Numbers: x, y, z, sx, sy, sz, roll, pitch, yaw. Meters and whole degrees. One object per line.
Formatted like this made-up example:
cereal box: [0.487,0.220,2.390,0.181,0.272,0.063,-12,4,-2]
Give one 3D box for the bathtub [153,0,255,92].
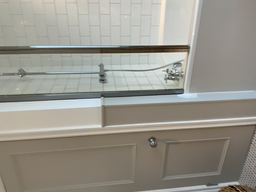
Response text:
bathtub: [0.650,-1.080,1.510,0.800,0.620,1.920,-108,17,-62]
